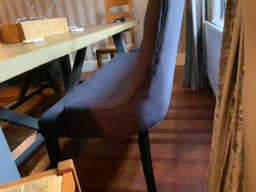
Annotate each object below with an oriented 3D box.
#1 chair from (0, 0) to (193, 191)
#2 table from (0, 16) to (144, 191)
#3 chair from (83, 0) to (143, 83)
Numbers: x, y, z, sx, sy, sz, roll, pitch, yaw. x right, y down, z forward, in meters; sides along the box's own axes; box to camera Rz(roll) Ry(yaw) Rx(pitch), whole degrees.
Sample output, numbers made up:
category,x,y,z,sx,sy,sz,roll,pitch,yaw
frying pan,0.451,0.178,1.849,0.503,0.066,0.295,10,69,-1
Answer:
category,x,y,z,sx,sy,sz,roll,pitch,yaw
chair,0.060,-0.210,1.490,0.660,0.920,1.480,-2,22,14
table,-0.590,-0.060,1.560,1.010,0.760,2.380,-2,22,14
chair,-0.150,-0.760,2.830,0.530,1.000,0.560,-3,22,13
